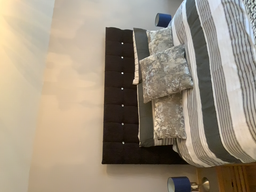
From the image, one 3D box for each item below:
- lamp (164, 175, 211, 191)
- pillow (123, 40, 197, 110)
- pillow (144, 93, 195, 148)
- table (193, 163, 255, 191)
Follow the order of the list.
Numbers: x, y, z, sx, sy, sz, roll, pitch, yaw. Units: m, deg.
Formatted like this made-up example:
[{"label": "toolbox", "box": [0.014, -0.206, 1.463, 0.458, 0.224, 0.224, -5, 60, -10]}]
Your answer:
[{"label": "lamp", "box": [0.540, 0.820, 1.930, 0.180, 0.360, 0.180, 123, 149, -65]}, {"label": "pillow", "box": [0.310, -0.220, 1.980, 0.520, 0.500, 0.200, 52, 132, 8]}, {"label": "pillow", "box": [0.370, 0.210, 1.910, 0.140, 0.310, 0.410, -35, 73, 53]}, {"label": "table", "box": [0.920, 0.860, 2.030, 0.320, 0.420, 0.390, 123, 149, -65]}]
